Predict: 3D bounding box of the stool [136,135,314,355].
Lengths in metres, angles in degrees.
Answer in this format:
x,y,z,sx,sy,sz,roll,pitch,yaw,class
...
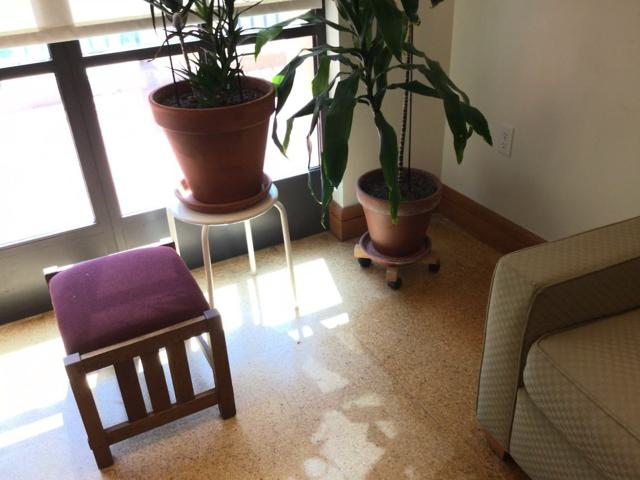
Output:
x,y,z,sx,sy,sz,roll,pitch,yaw,class
-0.330,-0.010,2.010,0.400,0.520,0.500,-17,31,-24,stool

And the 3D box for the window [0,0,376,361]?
x,y,z,sx,sy,sz,roll,pitch,yaw,class
-0.710,-0.330,1.910,1.930,1.210,0.310,-17,31,-24,window
